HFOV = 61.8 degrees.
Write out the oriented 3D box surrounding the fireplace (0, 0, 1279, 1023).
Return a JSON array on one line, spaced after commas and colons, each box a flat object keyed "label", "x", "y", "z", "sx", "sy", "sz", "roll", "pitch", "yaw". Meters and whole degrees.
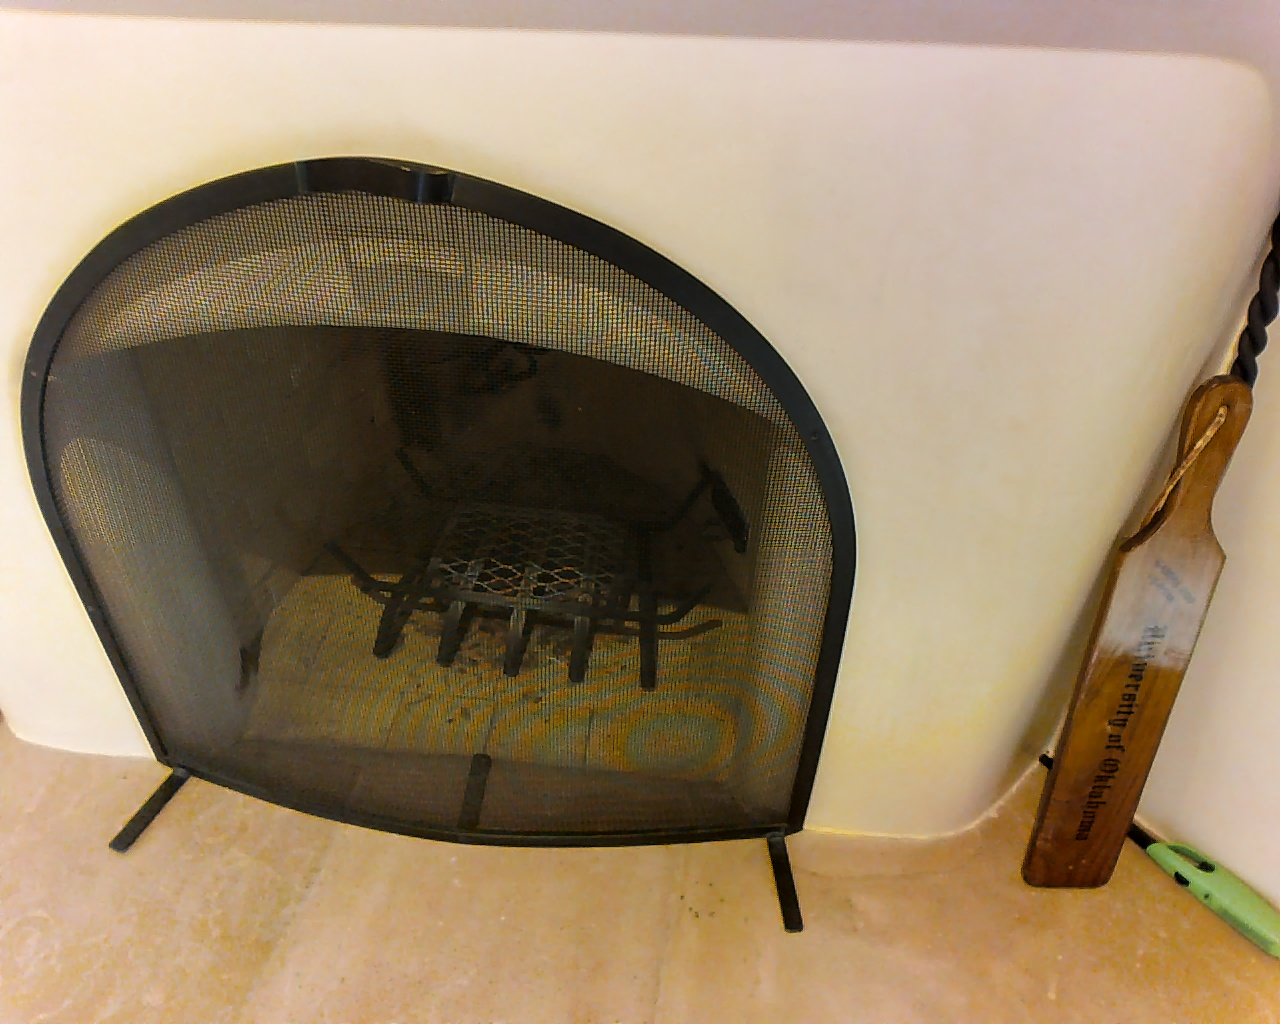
[{"label": "fireplace", "x": -0.160, "y": 0.190, "z": 0.930, "sx": 1.550, "sy": 1.380, "sz": 0.800, "roll": 4, "pitch": 43, "yaw": 4}]
